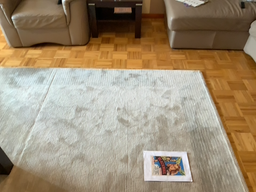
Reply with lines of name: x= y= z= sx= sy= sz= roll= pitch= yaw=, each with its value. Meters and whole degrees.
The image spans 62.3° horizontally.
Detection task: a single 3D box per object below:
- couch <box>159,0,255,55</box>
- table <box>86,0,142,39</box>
couch: x=0.850 y=-1.100 z=2.450 sx=0.840 sy=0.830 sz=0.920 roll=2 pitch=44 yaw=1
table: x=-0.140 y=-1.080 z=2.700 sx=0.610 sy=0.420 sz=0.640 roll=2 pitch=44 yaw=1
